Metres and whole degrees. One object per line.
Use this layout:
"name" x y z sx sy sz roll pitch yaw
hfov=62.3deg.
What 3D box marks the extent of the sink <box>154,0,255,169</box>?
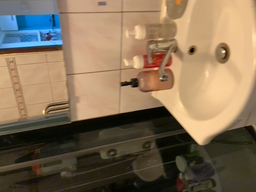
"sink" 0.260 -0.120 0.650 0.400 0.150 0.500 -124 31 -53
